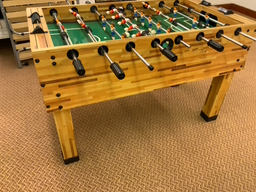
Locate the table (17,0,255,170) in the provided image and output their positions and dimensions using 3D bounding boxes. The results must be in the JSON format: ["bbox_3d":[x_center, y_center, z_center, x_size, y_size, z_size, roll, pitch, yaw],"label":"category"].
[{"bbox_3d":[0.030,-0.260,1.710,1.460,0.830,0.960,-11,39,-18],"label":"table"}]
